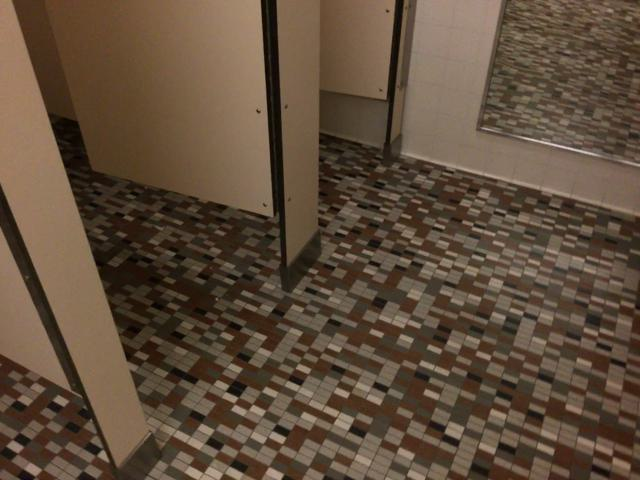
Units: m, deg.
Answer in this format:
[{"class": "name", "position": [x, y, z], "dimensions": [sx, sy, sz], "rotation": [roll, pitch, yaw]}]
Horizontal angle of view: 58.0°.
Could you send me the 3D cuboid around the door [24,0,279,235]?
[{"class": "door", "position": [-0.420, -0.640, 1.250], "dimensions": [0.640, 1.380, 0.050], "rotation": [14, 41, 17]}]
